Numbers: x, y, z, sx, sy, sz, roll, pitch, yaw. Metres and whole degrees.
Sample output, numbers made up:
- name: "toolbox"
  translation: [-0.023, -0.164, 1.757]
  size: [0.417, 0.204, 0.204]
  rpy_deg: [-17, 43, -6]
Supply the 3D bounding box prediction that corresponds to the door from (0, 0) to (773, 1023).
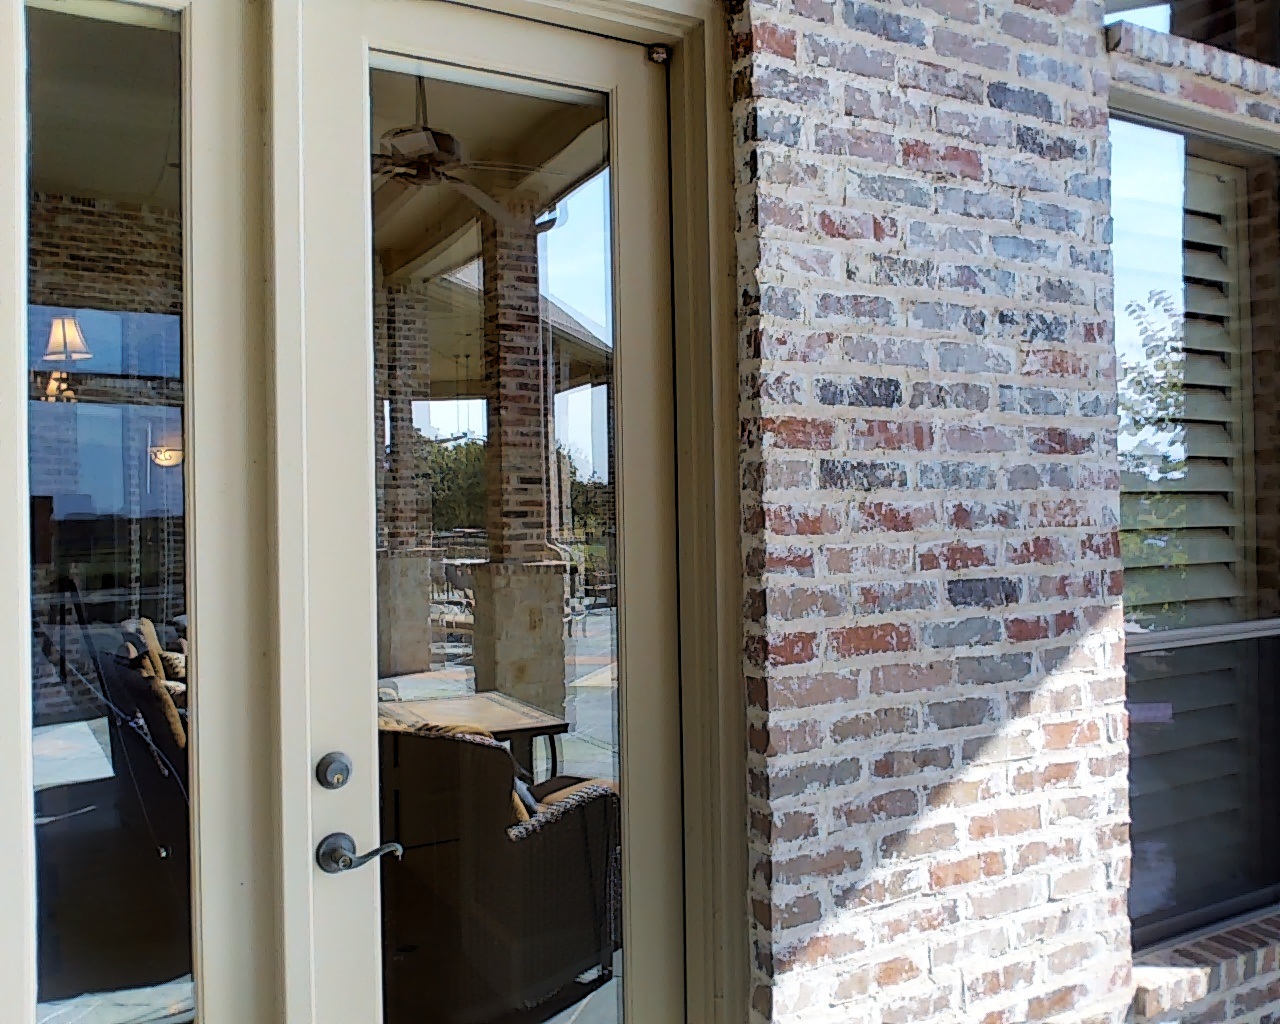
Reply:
- name: "door"
  translation: [-0.490, 0.440, 1.890]
  size: [1.480, 2.711, 0.330]
  rpy_deg: [-1, -2, -28]
